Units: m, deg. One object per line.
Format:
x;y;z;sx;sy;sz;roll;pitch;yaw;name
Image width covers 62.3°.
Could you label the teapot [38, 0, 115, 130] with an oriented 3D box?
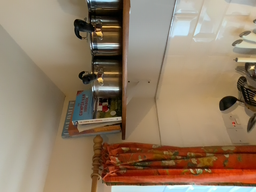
-0.140;-0.220;0.720;0.880;0.180;0.240;94;176;-49;teapot
